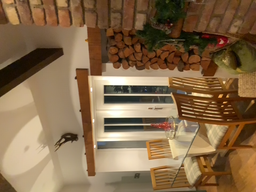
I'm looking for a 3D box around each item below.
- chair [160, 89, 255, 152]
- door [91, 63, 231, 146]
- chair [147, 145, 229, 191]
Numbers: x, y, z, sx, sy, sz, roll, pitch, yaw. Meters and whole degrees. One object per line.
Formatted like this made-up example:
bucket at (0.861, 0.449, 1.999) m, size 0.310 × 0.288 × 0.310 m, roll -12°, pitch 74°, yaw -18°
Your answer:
chair at (0.950, 0.290, 2.480) m, size 0.440 × 0.980 × 0.570 m, roll -97°, pitch 9°, yaw -48°
door at (0.400, 0.250, 3.530) m, size 0.170 × 1.920 × 1.770 m, roll -96°, pitch 9°, yaw -46°
chair at (0.850, 1.100, 3.220) m, size 0.430 × 1.000 × 0.590 m, roll -96°, pitch 9°, yaw -47°
